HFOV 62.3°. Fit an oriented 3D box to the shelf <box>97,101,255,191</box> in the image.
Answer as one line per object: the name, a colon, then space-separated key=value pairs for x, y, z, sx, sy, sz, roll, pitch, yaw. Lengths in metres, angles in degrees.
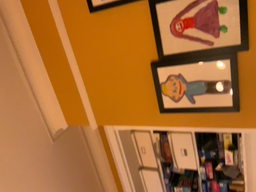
shelf: x=0.770 y=0.700 z=1.800 sx=0.300 sy=1.860 sz=1.290 roll=-48 pitch=-51 yaw=-55
